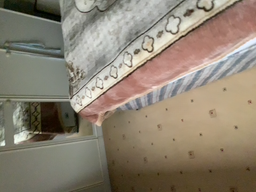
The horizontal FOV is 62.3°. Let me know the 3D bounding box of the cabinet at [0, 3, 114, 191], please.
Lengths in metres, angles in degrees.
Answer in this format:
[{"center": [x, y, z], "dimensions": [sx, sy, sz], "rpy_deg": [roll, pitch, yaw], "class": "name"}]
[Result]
[{"center": [-1.310, 0.280, 1.950], "dimensions": [0.600, 2.160, 2.300], "rpy_deg": [-24, 71, 46], "class": "cabinet"}]
